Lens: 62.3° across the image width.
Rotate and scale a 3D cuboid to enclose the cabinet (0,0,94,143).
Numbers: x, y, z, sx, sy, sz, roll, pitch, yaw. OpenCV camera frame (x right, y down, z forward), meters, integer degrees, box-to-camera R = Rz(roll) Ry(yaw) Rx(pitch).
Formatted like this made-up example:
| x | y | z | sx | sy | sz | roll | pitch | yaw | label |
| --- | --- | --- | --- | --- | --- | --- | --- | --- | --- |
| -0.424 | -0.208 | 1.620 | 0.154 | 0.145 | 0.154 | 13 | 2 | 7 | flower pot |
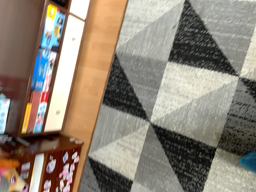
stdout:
| x | y | z | sx | sy | sz | roll | pitch | yaw | label |
| --- | --- | --- | --- | --- | --- | --- | --- | --- | --- |
| -0.640 | -0.620 | 1.570 | 0.590 | 0.400 | 1.750 | 15 | 94 | 29 | cabinet |
